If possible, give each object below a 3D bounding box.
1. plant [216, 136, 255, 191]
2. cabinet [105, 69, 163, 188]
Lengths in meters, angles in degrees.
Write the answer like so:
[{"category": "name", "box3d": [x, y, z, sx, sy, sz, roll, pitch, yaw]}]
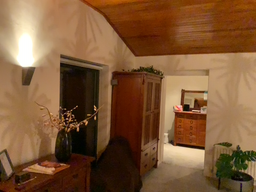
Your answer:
[{"category": "plant", "box3d": [1.770, 1.200, 3.480, 0.540, 0.850, 1.020, 3, 2, 25]}, {"category": "cabinet", "box3d": [0.150, 0.500, 3.980, 0.660, 1.900, 1.050, 3, 2, 24]}]
